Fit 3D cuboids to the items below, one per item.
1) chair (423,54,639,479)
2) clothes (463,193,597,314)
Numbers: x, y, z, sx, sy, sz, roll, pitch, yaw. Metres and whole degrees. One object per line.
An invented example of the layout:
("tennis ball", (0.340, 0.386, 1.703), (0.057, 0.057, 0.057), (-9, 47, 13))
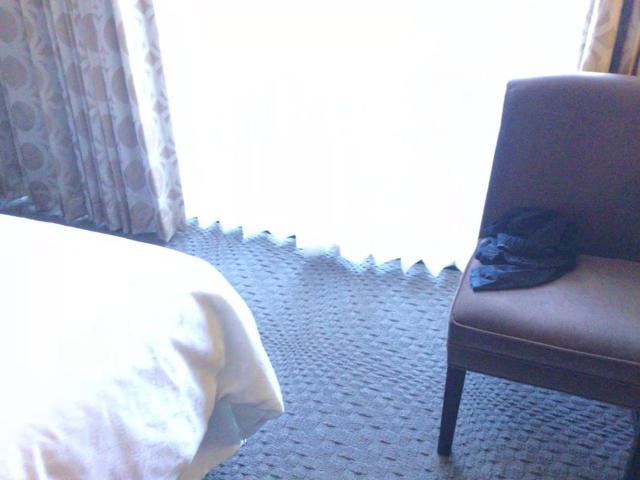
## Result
("chair", (0.680, 0.060, 1.590), (0.560, 0.930, 0.750), (10, 31, 18))
("clothes", (0.560, 0.020, 1.540), (0.290, 0.130, 0.330), (10, 31, 18))
